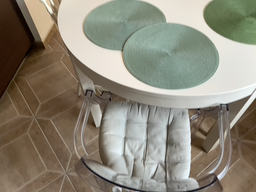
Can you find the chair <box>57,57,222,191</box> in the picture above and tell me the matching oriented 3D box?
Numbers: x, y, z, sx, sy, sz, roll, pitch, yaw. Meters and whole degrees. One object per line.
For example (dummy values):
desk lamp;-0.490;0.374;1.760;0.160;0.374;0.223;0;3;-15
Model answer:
chair;0.060;0.300;0.980;0.410;0.810;0.480;5;55;5
